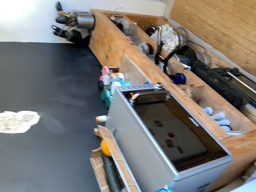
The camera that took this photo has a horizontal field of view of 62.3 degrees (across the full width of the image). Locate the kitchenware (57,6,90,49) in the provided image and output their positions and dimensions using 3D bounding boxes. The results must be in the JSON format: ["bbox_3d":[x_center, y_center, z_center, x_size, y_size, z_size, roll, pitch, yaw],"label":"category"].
[{"bbox_3d":[-0.460,-0.560,1.770,0.110,0.220,0.310,51,136,42],"label":"kitchenware"}]
